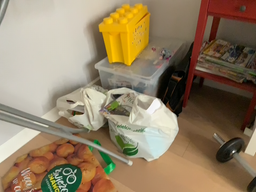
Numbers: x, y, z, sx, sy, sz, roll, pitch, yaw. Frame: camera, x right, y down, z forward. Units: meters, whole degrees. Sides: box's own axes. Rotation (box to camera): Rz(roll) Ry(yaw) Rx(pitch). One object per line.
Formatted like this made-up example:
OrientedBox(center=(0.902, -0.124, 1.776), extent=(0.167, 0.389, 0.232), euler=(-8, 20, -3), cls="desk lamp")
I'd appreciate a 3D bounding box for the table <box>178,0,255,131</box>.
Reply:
OrientedBox(center=(0.580, -0.240, 1.190), extent=(0.380, 0.700, 0.380), euler=(21, 41, 26), cls="table")
